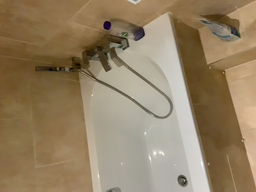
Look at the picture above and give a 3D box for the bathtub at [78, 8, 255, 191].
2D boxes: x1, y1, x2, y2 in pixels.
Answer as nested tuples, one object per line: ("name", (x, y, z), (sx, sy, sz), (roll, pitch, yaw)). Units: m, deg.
("bathtub", (0.250, 0.510, 1.230), (0.740, 0.550, 1.660), (-20, 75, 41))
